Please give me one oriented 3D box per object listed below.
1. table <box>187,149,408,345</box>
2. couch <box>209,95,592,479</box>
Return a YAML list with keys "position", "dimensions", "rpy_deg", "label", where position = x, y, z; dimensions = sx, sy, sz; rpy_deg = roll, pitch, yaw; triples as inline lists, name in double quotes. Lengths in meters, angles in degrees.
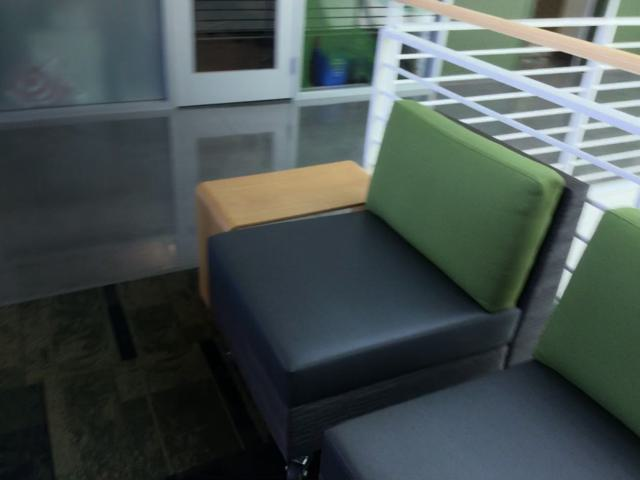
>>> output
- position: [-0.100, -0.010, 2.130]
  dimensions: [0.660, 0.510, 0.420]
  rpy_deg: [-8, 27, -26]
  label: "table"
- position: [0.120, 0.110, 1.640]
  dimensions: [0.710, 0.890, 0.700]
  rpy_deg: [-6, 26, -22]
  label: "couch"
